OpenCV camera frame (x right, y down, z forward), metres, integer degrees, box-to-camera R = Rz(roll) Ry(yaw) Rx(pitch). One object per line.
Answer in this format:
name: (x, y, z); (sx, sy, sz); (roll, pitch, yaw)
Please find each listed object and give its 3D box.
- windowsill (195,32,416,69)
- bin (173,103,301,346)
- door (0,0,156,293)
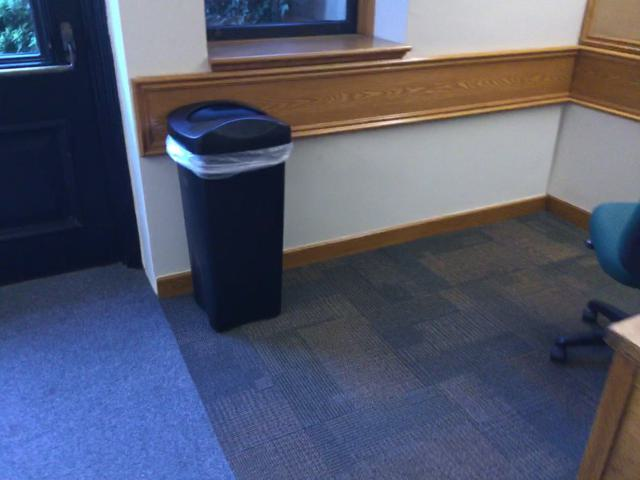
windowsill: (-0.050, -0.800, 2.410); (0.880, 0.050, 0.280); (-13, 29, -23)
bin: (-0.290, -0.050, 2.150); (0.370, 0.840, 0.190); (-13, 29, -23)
door: (-1.240, -0.730, 2.030); (1.010, 1.980, 0.170); (-13, 29, -23)
